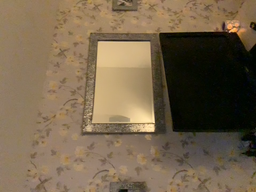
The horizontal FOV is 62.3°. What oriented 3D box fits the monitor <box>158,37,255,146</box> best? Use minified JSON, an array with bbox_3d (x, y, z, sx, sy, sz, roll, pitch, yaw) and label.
[{"bbox_3d":[0.570,-0.100,1.430,0.070,0.650,0.920,91,179,-49],"label":"monitor"}]
